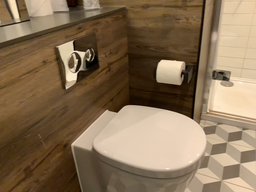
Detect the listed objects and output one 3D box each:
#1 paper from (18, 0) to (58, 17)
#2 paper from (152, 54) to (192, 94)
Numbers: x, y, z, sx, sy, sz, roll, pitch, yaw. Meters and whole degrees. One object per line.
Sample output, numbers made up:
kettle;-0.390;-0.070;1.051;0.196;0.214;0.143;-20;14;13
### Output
paper;-0.380;-0.400;0.890;0.090;0.110;0.120;13;32;27
paper;0.210;-0.110;1.010;0.140;0.120;0.160;11;31;23
